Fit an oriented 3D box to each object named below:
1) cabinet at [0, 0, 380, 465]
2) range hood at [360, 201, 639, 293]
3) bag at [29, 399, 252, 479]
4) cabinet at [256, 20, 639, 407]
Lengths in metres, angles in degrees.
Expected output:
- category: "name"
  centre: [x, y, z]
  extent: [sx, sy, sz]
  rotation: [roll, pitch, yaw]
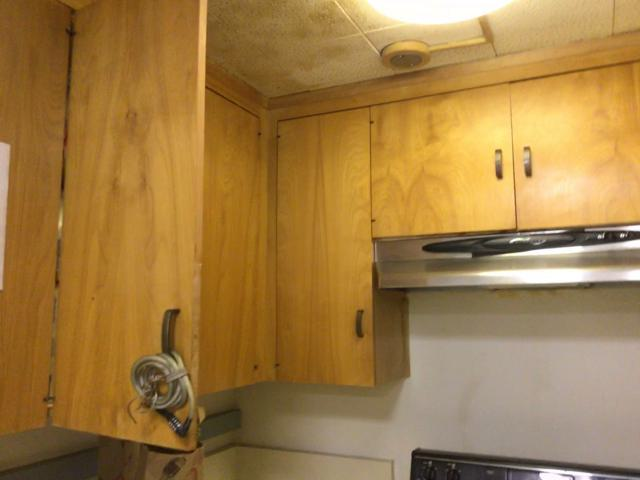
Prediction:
- category: "cabinet"
  centre: [-0.310, -0.060, 1.510]
  extent: [0.640, 0.990, 0.910]
  rotation: [-4, -10, 26]
- category: "range hood"
  centre: [0.550, 0.030, 1.530]
  extent: [0.890, 0.190, 0.160]
  rotation: [-4, -10, 26]
- category: "bag"
  centre: [-0.460, 0.650, 1.490]
  extent: [0.460, 0.410, 0.310]
  rotation: [-4, -10, 26]
- category: "cabinet"
  centre: [0.450, -0.030, 1.800]
  extent: [1.270, 0.970, 0.370]
  rotation: [-4, -10, 26]
